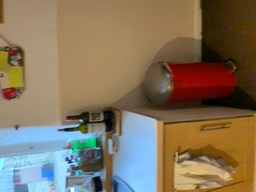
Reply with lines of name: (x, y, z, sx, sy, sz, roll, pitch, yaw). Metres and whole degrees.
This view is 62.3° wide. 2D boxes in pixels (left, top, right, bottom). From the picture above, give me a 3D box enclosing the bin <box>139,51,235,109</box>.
bin: (0.450, -0.110, 1.620, 0.340, 0.640, 0.360, -177, 86, -64)
